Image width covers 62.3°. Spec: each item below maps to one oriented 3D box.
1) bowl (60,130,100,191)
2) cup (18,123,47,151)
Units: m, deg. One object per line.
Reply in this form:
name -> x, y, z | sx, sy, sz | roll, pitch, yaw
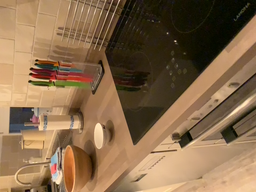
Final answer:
bowl -> -0.280, 0.370, 1.180 | 0.260, 0.120, 0.260 | -56, 42, 43
cup -> -0.930, 0.400, 2.050 | 0.300, 0.220, 0.140 | -54, 43, 44
